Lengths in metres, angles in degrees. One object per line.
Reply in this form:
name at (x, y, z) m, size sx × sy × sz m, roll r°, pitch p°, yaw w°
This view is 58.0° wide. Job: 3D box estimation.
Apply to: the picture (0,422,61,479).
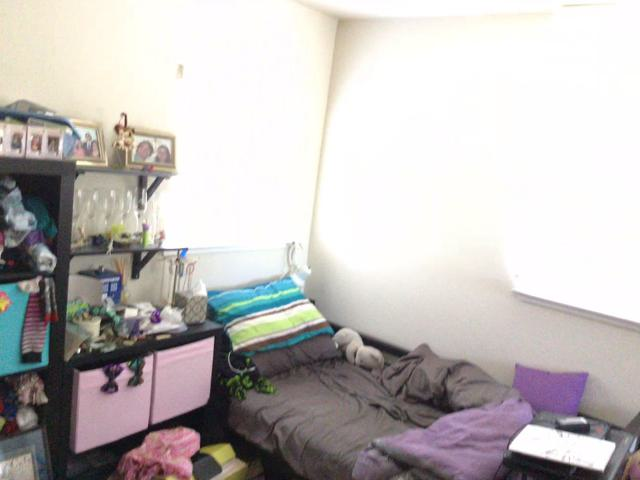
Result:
picture at (-1.070, 0.830, 1.950) m, size 0.090 × 0.340 × 0.350 m, roll -15°, pitch -10°, yaw 37°
